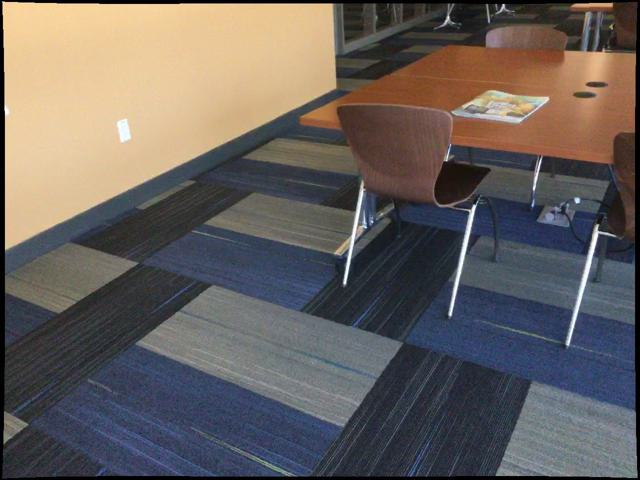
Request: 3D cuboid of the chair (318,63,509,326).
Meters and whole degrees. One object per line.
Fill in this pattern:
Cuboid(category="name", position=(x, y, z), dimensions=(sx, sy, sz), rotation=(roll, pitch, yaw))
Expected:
Cuboid(category="chair", position=(0.379, -0.211, 2.320), dimensions=(0.509, 0.801, 0.590), rotation=(14, 36, 26))

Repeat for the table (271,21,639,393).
Cuboid(category="table", position=(1.107, -0.321, 2.490), dimensions=(1.956, 0.862, 1.640), rotation=(12, 35, 28))
